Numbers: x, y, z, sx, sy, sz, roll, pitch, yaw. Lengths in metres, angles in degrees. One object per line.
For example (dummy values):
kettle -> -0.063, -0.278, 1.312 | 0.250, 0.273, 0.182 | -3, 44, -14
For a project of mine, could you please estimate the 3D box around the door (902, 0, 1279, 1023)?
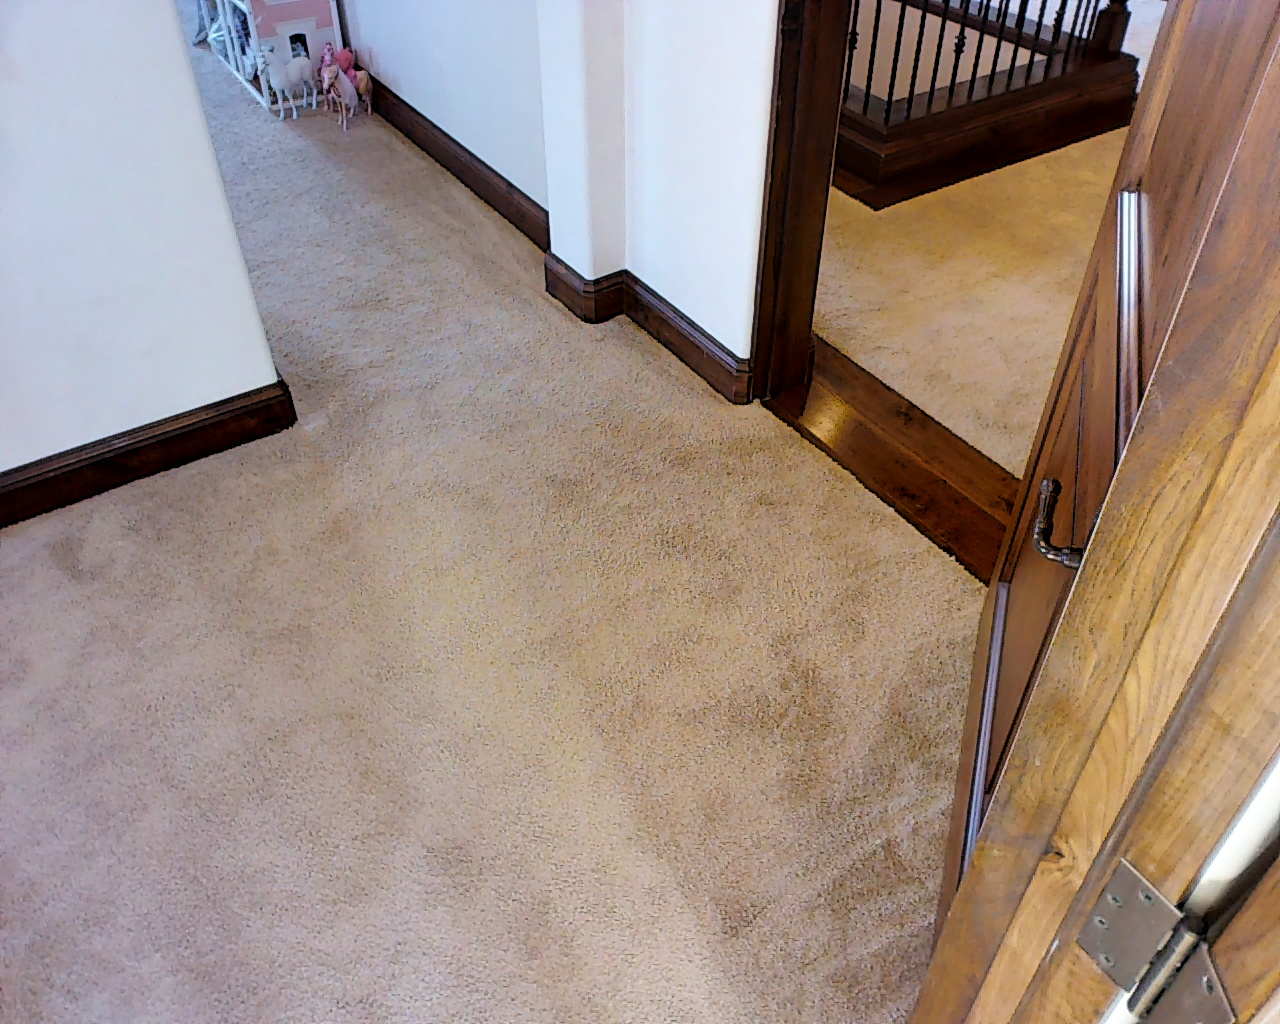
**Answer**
door -> 0.550, -0.420, 1.080 | 0.060, 2.420, 0.950 | 13, 43, 15
